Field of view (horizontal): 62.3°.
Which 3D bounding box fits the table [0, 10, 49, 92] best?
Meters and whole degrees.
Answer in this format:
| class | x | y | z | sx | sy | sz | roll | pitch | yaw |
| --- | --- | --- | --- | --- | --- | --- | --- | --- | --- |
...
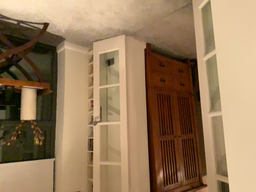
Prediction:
| class | x | y | z | sx | sy | sz | roll | pitch | yaw |
| --- | --- | --- | --- | --- | --- | --- | --- | --- | --- |
| table | -1.190 | -0.430 | 2.200 | 0.590 | 0.670 | 0.450 | 4 | 169 | -33 |
